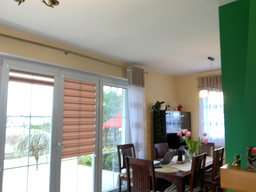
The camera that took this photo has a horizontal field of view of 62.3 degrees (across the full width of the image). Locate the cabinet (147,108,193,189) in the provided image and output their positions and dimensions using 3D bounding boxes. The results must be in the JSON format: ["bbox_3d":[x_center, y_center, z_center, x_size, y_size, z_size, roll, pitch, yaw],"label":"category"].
[{"bbox_3d":[1.060,1.190,5.230,0.470,1.720,1.350,-5,-8,42],"label":"cabinet"}]

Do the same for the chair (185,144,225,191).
[{"bbox_3d":[1.350,1.390,3.700,0.490,1.000,0.480,-5,-8,41],"label":"chair"}]

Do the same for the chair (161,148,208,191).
[{"bbox_3d":[0.830,1.320,3.100,0.490,1.000,0.480,-5,-8,41],"label":"chair"}]

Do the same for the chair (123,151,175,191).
[{"bbox_3d":[0.280,1.290,2.800,0.490,1.000,0.500,-5,-8,41],"label":"chair"}]

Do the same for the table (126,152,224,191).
[{"bbox_3d":[0.880,1.490,3.610,0.920,0.770,1.740,-5,-8,39],"label":"table"}]
